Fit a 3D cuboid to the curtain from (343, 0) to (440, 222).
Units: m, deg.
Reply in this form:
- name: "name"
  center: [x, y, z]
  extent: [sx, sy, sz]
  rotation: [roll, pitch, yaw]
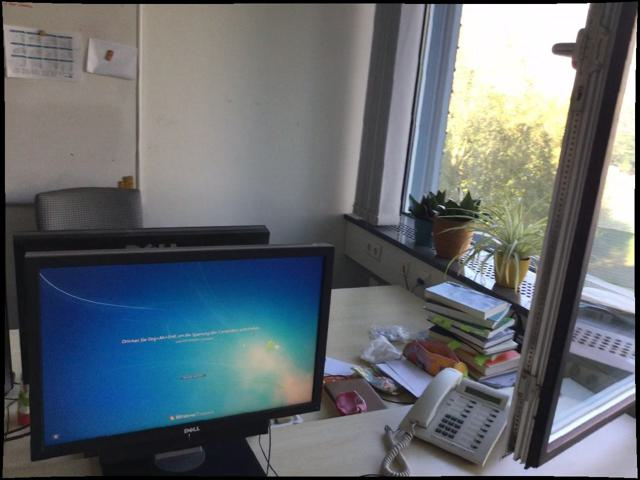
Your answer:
- name: "curtain"
  center: [0.360, -0.901, 2.890]
  extent: [0.180, 1.561, 0.420]
  rotation: [-5, 23, -24]

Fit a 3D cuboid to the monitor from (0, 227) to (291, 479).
- name: "monitor"
  center: [-0.350, 0.240, 1.110]
  extent: [0.540, 0.460, 0.180]
  rotation: [-5, 21, -25]

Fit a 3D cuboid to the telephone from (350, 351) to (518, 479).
- name: "telephone"
  center: [0.270, 0.410, 1.360]
  extent: [0.280, 0.110, 0.280]
  rotation: [17, 23, 35]
